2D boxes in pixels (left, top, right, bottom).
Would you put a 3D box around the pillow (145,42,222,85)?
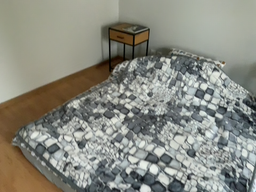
[{"bbox_3d":[0.630,-0.410,2.460,0.710,0.160,0.470,25,39,30],"label":"pillow"}]
